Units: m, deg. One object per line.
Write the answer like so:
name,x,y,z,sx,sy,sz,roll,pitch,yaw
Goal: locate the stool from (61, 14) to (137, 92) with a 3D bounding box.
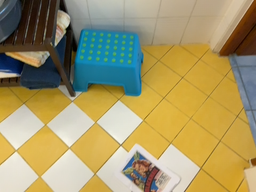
stool,-0.150,-0.250,1.270,0.380,0.240,0.360,4,65,-1
